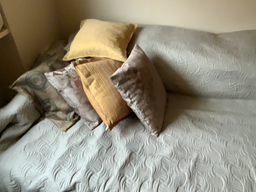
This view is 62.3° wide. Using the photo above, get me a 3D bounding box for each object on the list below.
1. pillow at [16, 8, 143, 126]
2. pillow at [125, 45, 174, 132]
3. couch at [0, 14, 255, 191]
[{"bbox_3d":[-0.200,-0.250,1.310,0.390,0.310,0.810,11,40,13],"label":"pillow"},{"bbox_3d":[0.120,-0.050,1.150,0.150,0.300,0.350,16,40,3],"label":"pillow"},{"bbox_3d":[0.450,0.140,1.220,2.140,0.700,1.220,7,39,9],"label":"couch"}]
